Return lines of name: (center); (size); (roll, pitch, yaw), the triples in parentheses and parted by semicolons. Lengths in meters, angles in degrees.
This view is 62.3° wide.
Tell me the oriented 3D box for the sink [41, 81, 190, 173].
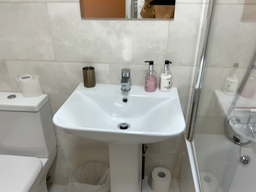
sink: (-0.030, 0.110, 1.030); (0.560, 0.180, 0.450); (3, 27, 6)
